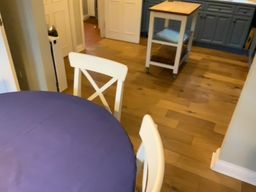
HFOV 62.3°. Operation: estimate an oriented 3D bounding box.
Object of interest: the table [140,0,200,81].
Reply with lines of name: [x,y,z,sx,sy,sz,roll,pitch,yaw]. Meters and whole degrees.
table: [0.620,-0.850,3.130,0.530,0.900,0.780,18,36,21]
